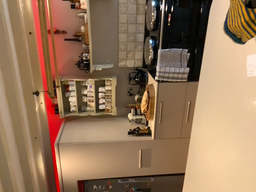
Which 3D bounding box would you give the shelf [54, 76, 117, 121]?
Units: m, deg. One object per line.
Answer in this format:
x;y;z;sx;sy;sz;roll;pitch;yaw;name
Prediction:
-0.610;0.040;3.150;0.160;0.870;0.640;-108;19;-67;shelf
